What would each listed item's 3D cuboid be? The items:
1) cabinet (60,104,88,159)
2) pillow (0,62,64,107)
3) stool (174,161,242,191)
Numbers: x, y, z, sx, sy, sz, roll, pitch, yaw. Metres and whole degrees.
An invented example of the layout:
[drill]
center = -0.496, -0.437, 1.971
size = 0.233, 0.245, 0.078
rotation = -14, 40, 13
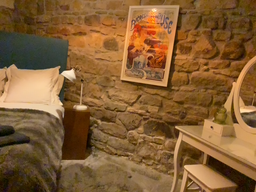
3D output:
[cabinet]
center = -0.740, 0.470, 2.890
size = 0.290, 0.640, 0.370
rotation = 6, 9, -14
[pillow]
center = -1.250, -0.160, 2.830
size = 0.690, 0.470, 0.490
rotation = 6, 9, -14
[stool]
center = 0.690, 0.900, 1.920
size = 0.330, 0.440, 0.420
rotation = 4, 9, -25
